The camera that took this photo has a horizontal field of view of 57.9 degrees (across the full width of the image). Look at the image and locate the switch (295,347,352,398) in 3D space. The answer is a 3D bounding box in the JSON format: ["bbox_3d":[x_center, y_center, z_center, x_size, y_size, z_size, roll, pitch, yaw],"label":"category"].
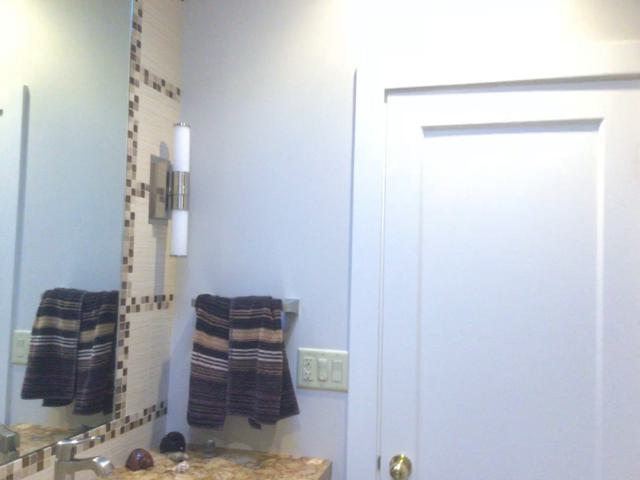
[{"bbox_3d":[0.010,0.390,1.710,0.160,0.130,0.040,1,-4,15],"label":"switch"}]

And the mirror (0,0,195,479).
[{"bbox_3d":[-0.630,-0.150,1.450,0.190,1.370,0.860,1,-4,15],"label":"mirror"}]
